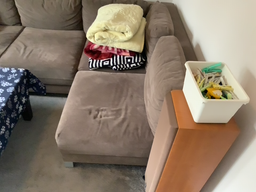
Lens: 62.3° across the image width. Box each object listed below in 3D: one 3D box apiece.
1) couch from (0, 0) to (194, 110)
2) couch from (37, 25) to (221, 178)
[{"bbox_3d":[-1.120,-0.640,2.150,3.130,0.840,1.130,3,43,-4],"label":"couch"},{"bbox_3d":[-0.010,0.050,1.580,0.920,0.800,0.700,5,43,-2],"label":"couch"}]
